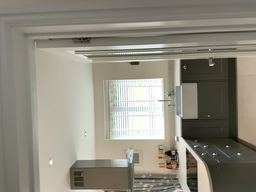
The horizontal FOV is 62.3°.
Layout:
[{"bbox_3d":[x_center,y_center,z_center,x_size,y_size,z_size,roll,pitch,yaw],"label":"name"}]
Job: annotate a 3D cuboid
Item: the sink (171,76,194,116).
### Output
[{"bbox_3d":[0.890,-0.010,3.530,0.600,0.240,0.600,-40,-52,-86],"label":"sink"}]
